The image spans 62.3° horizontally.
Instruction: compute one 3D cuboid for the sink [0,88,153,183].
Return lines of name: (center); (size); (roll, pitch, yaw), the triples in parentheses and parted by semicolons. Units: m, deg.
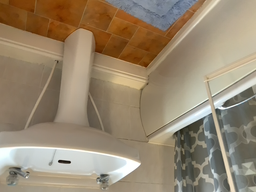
sink: (-0.260, 0.230, 0.970); (0.630, 0.240, 0.370); (14, 147, -25)
